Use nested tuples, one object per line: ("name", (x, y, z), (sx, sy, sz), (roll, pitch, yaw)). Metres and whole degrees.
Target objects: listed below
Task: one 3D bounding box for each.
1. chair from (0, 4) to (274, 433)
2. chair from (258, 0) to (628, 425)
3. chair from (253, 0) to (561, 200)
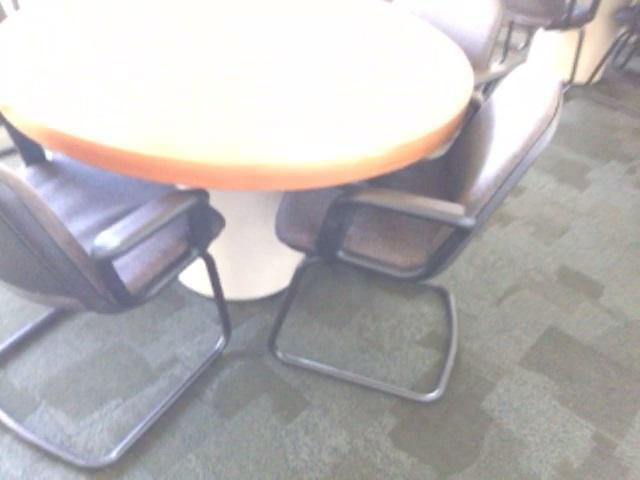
("chair", (-0.530, -0.110, 1.210), (0.640, 0.480, 0.560), (34, 46, 29))
("chair", (0.190, -0.070, 1.480), (0.610, 0.800, 0.670), (5, 39, -2))
("chair", (0.250, -0.580, 1.860), (0.670, 0.450, 0.630), (34, 46, 29))
